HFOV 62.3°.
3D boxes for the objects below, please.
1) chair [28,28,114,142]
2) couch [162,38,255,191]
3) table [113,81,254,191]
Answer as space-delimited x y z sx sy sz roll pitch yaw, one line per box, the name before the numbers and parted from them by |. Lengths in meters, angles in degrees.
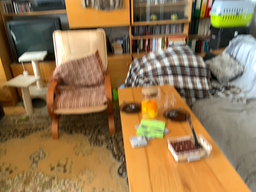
chair | -0.540 -0.180 2.370 0.650 0.960 0.880 -5 27 -6
couch | 1.180 0.110 1.900 1.210 0.770 2.110 -4 26 -5
table | 0.210 0.410 1.570 0.550 0.560 1.320 -4 26 -5
